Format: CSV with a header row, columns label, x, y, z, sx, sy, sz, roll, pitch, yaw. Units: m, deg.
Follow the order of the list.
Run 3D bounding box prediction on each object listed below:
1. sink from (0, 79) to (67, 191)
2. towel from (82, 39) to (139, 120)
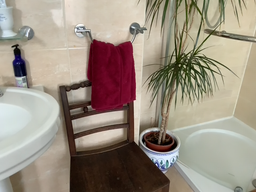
label,x,y,z,sx,sy,sz,roll,pitch,yaw
sink,-0.580,0.160,0.760,0.620,0.190,0.540,-9,28,-20
towel,-0.090,-0.090,1.100,0.240,0.360,0.170,-7,28,-16
